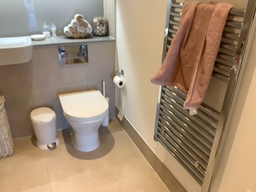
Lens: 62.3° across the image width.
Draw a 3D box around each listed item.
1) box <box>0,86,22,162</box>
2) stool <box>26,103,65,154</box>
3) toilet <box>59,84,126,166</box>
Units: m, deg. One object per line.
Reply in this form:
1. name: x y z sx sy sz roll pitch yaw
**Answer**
1. box: -1.110 0.240 1.680 0.390 0.510 0.310 -10 29 -22
2. stool: -0.730 0.280 1.880 0.260 0.320 0.250 -9 28 -21
3. toilet: -0.330 0.220 1.880 0.450 0.430 0.520 -8 29 -20
